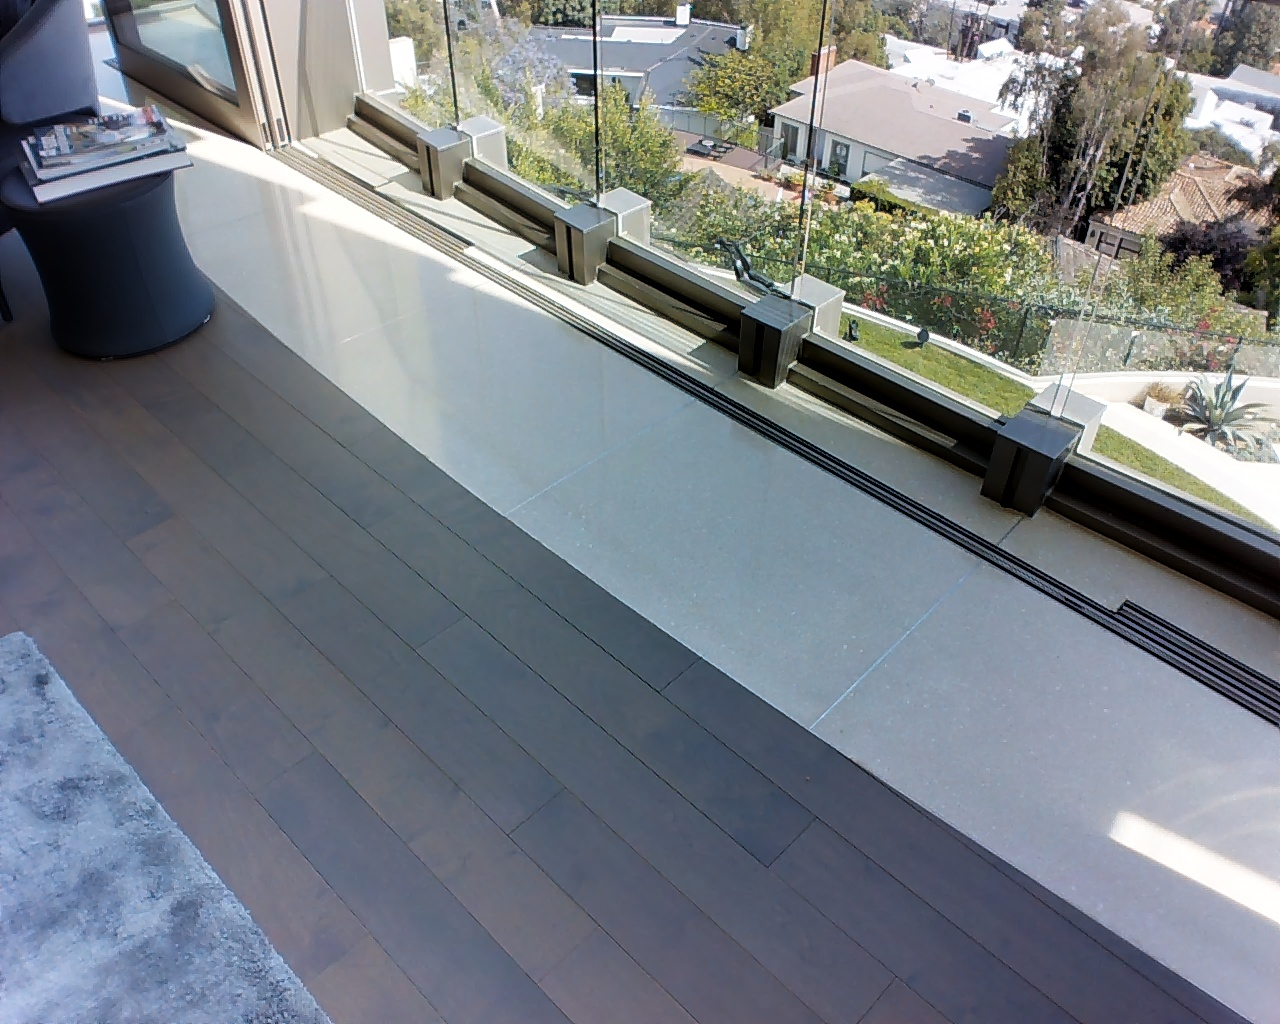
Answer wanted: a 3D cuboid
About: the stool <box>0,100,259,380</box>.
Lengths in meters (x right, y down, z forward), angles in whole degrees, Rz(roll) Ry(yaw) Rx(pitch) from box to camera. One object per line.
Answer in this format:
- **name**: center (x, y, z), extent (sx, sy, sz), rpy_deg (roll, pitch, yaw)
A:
- **stool**: center (-1.360, -0.700, 2.750), extent (0.480, 0.490, 0.460), rpy_deg (9, 43, 9)
